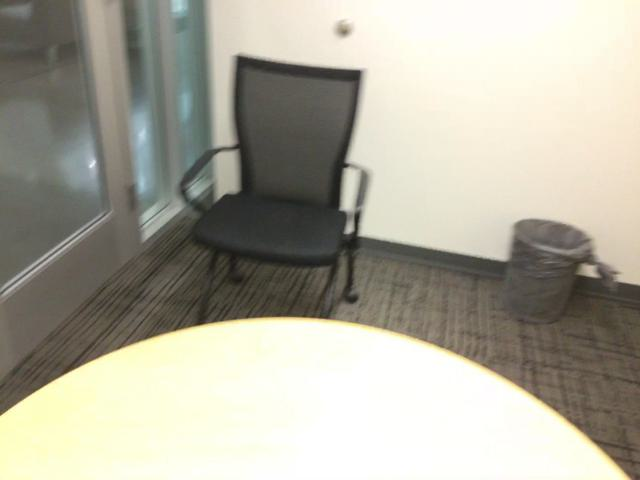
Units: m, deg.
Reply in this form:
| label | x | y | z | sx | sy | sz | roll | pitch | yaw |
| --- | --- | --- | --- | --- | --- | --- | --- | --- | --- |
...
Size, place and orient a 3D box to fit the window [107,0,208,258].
| label | x | y | z | sx | sy | sz | roll | pitch | yaw |
| --- | --- | --- | --- | --- | --- | --- | --- | --- | --- |
| window | -0.660 | -1.000 | 2.260 | 0.120 | 2.190 | 0.420 | 9 | 27 | 15 |

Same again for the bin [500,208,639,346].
| label | x | y | z | sx | sy | sz | roll | pitch | yaw |
| --- | --- | --- | --- | --- | --- | --- | --- | --- | --- |
| bin | 0.950 | 0.130 | 2.250 | 0.410 | 0.350 | 0.330 | 10 | 28 | 14 |
